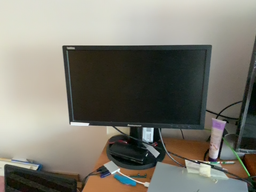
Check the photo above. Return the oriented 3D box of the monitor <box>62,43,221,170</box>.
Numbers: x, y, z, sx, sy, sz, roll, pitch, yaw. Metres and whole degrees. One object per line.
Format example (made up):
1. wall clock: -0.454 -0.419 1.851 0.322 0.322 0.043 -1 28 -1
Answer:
1. monitor: 0.030 0.050 0.800 0.540 0.470 0.020 4 19 7
